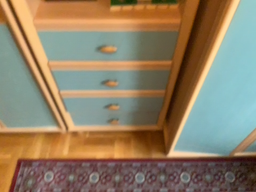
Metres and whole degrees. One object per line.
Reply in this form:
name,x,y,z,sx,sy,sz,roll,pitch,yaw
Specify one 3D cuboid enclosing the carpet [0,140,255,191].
carpet,0.160,0.690,1.180,1.830,0.070,0.770,4,54,2
